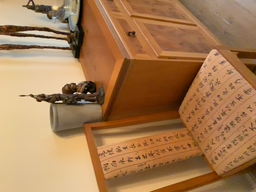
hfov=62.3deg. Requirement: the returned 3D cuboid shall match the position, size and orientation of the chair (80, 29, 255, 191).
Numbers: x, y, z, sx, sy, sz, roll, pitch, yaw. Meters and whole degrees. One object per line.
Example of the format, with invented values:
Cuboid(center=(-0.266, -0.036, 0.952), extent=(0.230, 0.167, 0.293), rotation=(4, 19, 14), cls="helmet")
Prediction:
Cuboid(center=(0.350, 0.120, 0.990), extent=(0.510, 0.960, 0.550), rotation=(64, 145, 37), cls="chair")
